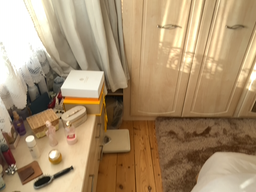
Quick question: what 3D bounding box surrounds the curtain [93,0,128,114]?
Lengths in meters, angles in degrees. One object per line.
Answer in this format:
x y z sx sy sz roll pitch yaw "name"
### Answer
-0.110 -0.810 1.460 0.220 2.100 0.430 1 36 0 "curtain"
